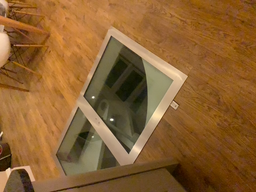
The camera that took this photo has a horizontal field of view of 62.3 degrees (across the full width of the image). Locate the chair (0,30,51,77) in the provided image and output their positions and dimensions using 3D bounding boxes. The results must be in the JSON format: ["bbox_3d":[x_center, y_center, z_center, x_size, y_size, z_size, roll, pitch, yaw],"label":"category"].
[{"bbox_3d":[-1.460,-0.540,2.580,0.510,0.780,0.420,19,97,43],"label":"chair"}]
